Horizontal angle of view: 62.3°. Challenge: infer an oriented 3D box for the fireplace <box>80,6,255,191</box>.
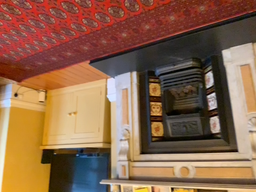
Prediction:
[{"bbox_3d":[0.480,0.170,2.080,1.760,1.330,0.760,-10,164,28],"label":"fireplace"}]
